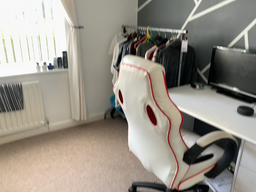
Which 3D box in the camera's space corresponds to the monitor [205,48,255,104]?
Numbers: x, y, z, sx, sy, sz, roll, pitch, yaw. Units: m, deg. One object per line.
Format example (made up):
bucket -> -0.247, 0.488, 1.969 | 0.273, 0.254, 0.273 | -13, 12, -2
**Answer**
monitor -> 0.840, -0.160, 1.610 | 0.040, 0.340, 0.520 | -11, 23, -30
